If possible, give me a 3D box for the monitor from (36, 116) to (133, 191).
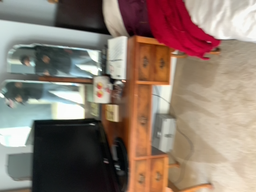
[{"bbox_3d":[-0.320,0.460,1.460,0.840,0.570,0.060,-115,35,-46],"label":"monitor"}]
